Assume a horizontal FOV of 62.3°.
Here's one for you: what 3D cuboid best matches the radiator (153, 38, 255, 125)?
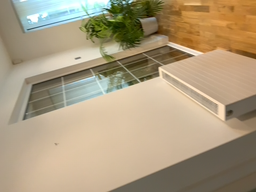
[{"bbox_3d":[0.690,-0.190,1.560,0.900,0.690,0.090,-125,20,-56],"label":"radiator"}]
